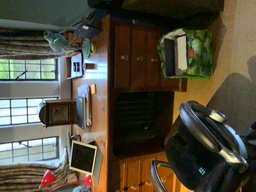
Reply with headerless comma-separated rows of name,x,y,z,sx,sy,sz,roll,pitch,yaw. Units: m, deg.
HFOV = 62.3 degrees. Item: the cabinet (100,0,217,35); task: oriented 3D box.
cabinet,0.230,-0.840,1.760,0.670,0.700,0.490,11,102,58
